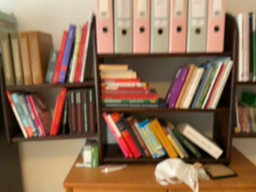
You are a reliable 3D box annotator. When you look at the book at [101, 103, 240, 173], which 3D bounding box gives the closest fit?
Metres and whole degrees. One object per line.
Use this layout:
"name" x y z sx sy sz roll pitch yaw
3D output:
"book" 0.200 0.210 1.150 0.650 0.280 0.250 1 10 3
